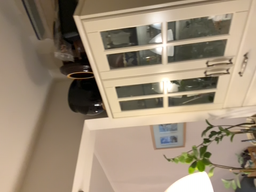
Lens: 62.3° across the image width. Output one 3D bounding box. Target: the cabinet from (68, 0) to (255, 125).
[{"bbox_3d":[0.280,-0.250,1.060,0.650,0.900,0.400,79,-173,-45],"label":"cabinet"}]
